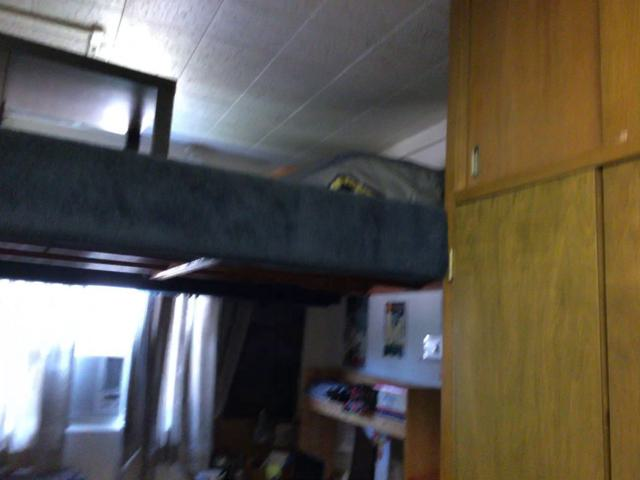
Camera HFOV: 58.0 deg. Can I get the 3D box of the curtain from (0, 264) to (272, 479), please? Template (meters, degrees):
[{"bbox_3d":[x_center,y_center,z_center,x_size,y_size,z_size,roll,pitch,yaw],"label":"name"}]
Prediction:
[{"bbox_3d":[-1.450,0.780,2.980,2.390,1.240,0.360,7,-12,-26],"label":"curtain"}]

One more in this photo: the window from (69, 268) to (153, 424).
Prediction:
[{"bbox_3d":[-1.210,0.610,3.350,0.360,0.840,0.240,7,-12,-26],"label":"window"}]

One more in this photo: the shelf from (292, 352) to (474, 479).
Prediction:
[{"bbox_3d":[0.260,0.980,2.970,0.340,0.770,1.160,7,-12,-26],"label":"shelf"}]
